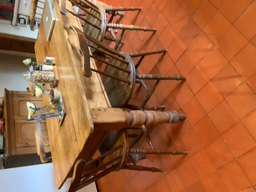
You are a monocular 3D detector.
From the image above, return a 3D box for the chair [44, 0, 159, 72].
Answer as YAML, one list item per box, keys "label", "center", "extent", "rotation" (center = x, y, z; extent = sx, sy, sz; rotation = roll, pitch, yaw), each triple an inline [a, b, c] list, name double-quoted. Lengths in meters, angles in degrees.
- label: "chair"
  center: [-0.240, -0.570, 1.840]
  extent: [0.470, 0.790, 0.440]
  rotation: [-54, 46, 39]

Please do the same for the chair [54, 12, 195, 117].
- label: "chair"
  center: [-0.040, -0.170, 1.520]
  extent: [0.470, 0.790, 0.440]
  rotation: [-54, 46, 39]
